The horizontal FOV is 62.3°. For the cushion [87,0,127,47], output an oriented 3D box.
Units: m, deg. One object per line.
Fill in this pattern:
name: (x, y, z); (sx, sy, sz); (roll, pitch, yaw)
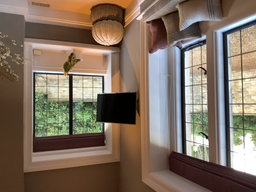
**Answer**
cushion: (-0.330, -1.090, 3.210); (0.470, 0.550, 0.440); (0, 178, -25)
